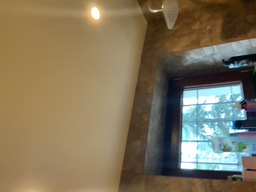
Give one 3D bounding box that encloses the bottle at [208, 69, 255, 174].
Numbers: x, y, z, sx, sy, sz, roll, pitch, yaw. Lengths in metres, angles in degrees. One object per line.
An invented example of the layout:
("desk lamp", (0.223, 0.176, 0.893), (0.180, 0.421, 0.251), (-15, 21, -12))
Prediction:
("bottle", (0.650, 0.160, 1.250), (0.340, 0.280, 0.500), (50, -139, -50))
